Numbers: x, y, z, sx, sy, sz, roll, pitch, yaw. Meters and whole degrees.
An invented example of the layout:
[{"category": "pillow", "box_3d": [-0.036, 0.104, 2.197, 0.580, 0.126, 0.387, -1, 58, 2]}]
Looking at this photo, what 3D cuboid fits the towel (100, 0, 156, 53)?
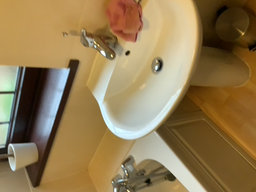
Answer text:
[{"category": "towel", "box_3d": [-0.010, -0.270, 0.740, 0.170, 0.050, 0.170, 51, 127, 34]}]
